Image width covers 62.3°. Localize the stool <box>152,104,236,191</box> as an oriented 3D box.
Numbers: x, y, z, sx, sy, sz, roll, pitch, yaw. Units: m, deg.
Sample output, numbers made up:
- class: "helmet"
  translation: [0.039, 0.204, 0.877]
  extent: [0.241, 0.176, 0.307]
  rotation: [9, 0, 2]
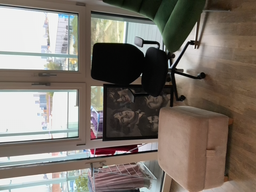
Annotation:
- class: "stool"
  translation: [0.570, 0.440, 1.990]
  extent: [0.600, 0.450, 0.650]
  rotation: [-165, 76, -69]
